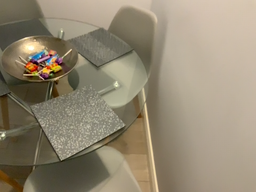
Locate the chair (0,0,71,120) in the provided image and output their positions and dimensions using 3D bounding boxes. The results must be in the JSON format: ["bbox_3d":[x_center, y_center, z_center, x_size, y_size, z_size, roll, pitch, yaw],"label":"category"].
[{"bbox_3d":[-0.690,-0.300,1.490,0.380,0.770,0.480,-18,53,-26],"label":"chair"}]

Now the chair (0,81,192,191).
[{"bbox_3d":[-0.170,0.440,0.880,0.450,0.780,0.520,-15,51,-24],"label":"chair"}]

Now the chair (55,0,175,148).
[{"bbox_3d":[-0.100,-0.150,1.460,0.440,0.780,0.530,31,49,18],"label":"chair"}]
